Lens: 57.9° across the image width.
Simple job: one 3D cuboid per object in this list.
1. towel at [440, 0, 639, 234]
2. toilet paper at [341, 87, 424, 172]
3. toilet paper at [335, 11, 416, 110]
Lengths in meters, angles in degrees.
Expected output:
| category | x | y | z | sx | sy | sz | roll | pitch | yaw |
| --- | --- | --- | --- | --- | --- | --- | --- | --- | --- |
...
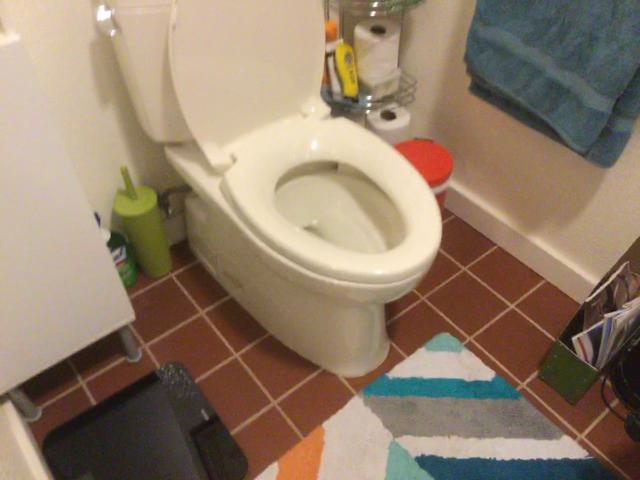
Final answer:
| category | x | y | z | sx | sy | sz | roll | pitch | yaw |
| --- | --- | --- | --- | --- | --- | --- | --- | --- | --- |
| towel | 0.520 | -0.410 | 0.980 | 0.120 | 0.710 | 0.600 | -27 | 50 | -27 |
| toilet paper | 0.170 | -0.310 | 1.610 | 0.150 | 0.140 | 0.160 | -27 | 50 | -27 |
| toilet paper | 0.140 | -0.470 | 1.510 | 0.140 | 0.180 | 0.140 | -27 | 50 | -27 |
